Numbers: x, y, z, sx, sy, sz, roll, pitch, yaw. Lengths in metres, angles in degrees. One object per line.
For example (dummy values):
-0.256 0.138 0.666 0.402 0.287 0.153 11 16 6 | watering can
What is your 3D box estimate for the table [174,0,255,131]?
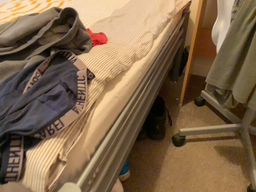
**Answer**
0.730 -0.250 1.090 0.790 0.760 0.450 14 40 17 | table
